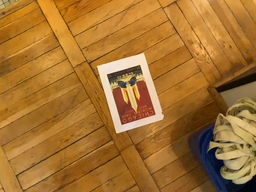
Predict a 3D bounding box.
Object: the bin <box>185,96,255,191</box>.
[{"bbox_3d":[0.390,0.210,0.680,0.190,0.300,0.370,-23,84,-5],"label":"bin"}]
